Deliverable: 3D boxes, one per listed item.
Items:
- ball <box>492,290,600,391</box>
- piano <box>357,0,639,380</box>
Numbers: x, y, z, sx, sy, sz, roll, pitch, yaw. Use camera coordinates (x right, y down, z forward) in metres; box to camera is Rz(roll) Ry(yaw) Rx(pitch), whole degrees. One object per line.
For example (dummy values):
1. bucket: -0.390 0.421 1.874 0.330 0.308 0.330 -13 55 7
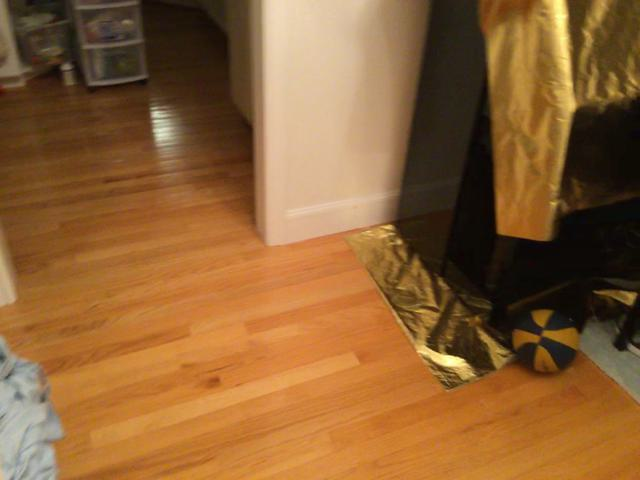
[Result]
1. ball: 0.630 0.280 1.630 0.180 0.170 0.170 -14 40 -21
2. piano: 1.020 -0.460 1.760 1.610 1.200 0.660 -14 40 -21
